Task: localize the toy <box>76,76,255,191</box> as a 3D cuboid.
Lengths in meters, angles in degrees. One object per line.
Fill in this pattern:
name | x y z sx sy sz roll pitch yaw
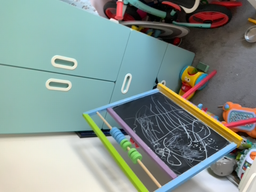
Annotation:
toy | 0.130 0.180 1.000 0.520 0.600 0.290 42 116 59
